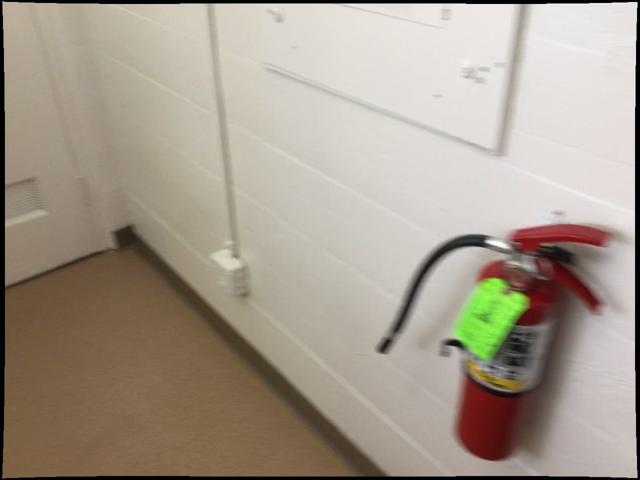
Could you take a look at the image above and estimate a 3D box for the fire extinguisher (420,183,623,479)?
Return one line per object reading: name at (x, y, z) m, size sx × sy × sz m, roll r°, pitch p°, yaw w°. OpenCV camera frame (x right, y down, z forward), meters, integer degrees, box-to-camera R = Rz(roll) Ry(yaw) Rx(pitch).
fire extinguisher at (0.279, 0.160, 0.870) m, size 0.130 × 0.441 × 0.170 m, roll -24°, pitch 40°, yaw -32°
